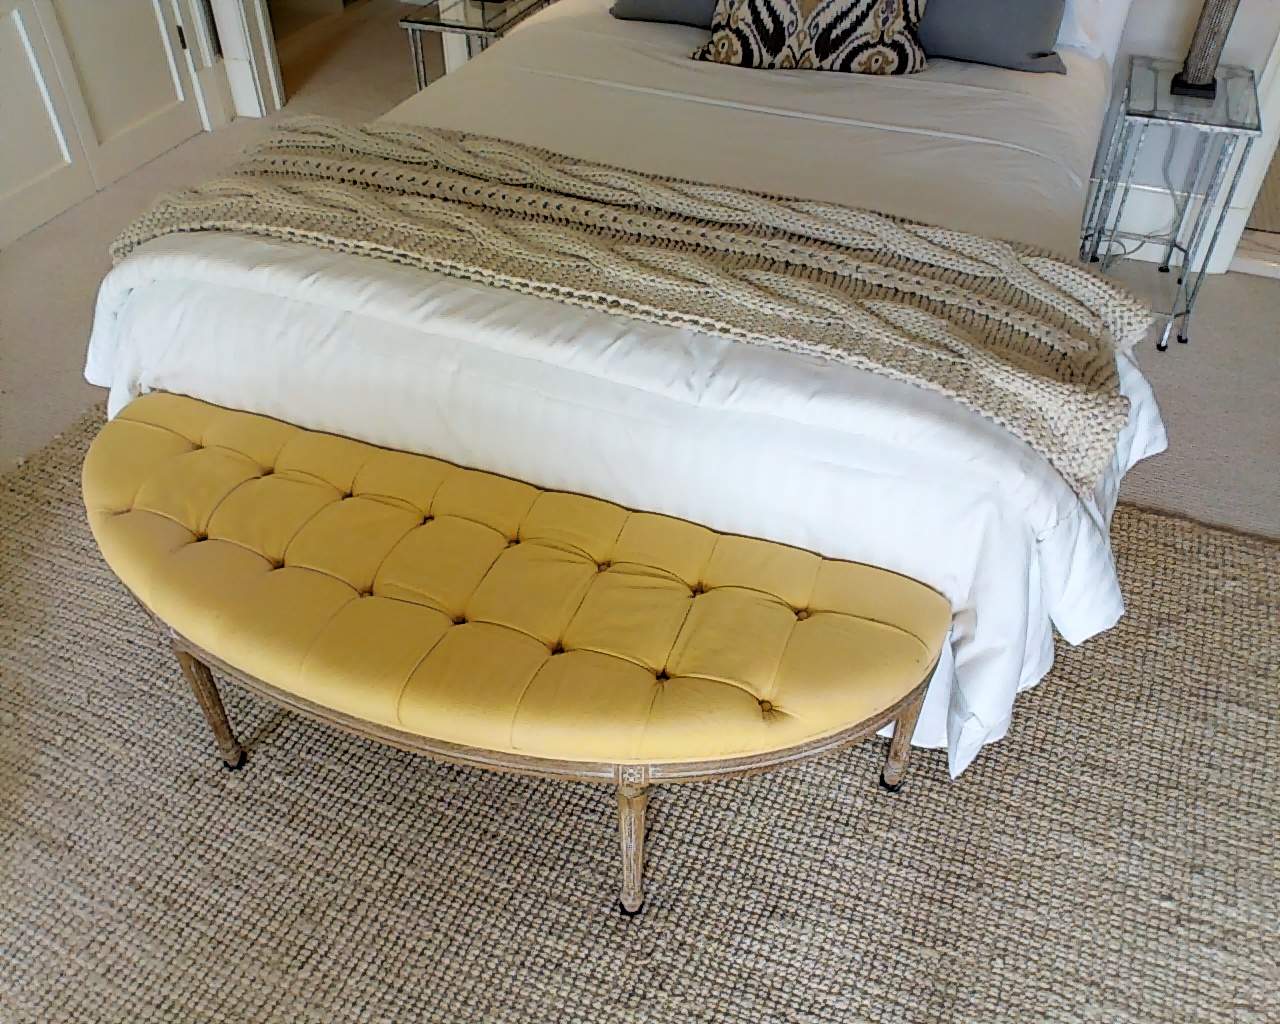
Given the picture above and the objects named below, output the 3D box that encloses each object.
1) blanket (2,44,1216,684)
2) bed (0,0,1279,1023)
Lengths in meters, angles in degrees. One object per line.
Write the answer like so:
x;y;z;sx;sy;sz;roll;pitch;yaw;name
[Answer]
-0.080;-0.360;1.940;1.910;0.510;0.620;15;43;16;blanket
0.110;-0.560;2.380;1.980;0.860;2.640;14;43;15;bed
